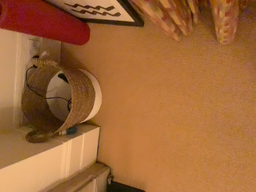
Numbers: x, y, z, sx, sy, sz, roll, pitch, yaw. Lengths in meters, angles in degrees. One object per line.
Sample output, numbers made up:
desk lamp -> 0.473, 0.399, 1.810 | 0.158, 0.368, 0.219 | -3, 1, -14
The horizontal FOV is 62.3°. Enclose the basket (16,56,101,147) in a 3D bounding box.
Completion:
basket -> -0.410, 0.010, 1.290 | 0.330, 0.330, 0.450 | 8, 97, 22
